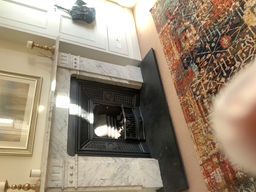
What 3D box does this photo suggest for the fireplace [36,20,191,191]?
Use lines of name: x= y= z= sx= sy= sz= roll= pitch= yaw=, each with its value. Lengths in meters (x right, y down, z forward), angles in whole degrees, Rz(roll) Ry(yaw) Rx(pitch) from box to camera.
fireplace: x=-0.250 y=0.210 z=2.400 sx=0.760 sy=1.220 sz=1.810 roll=-51 pitch=38 yaw=47
